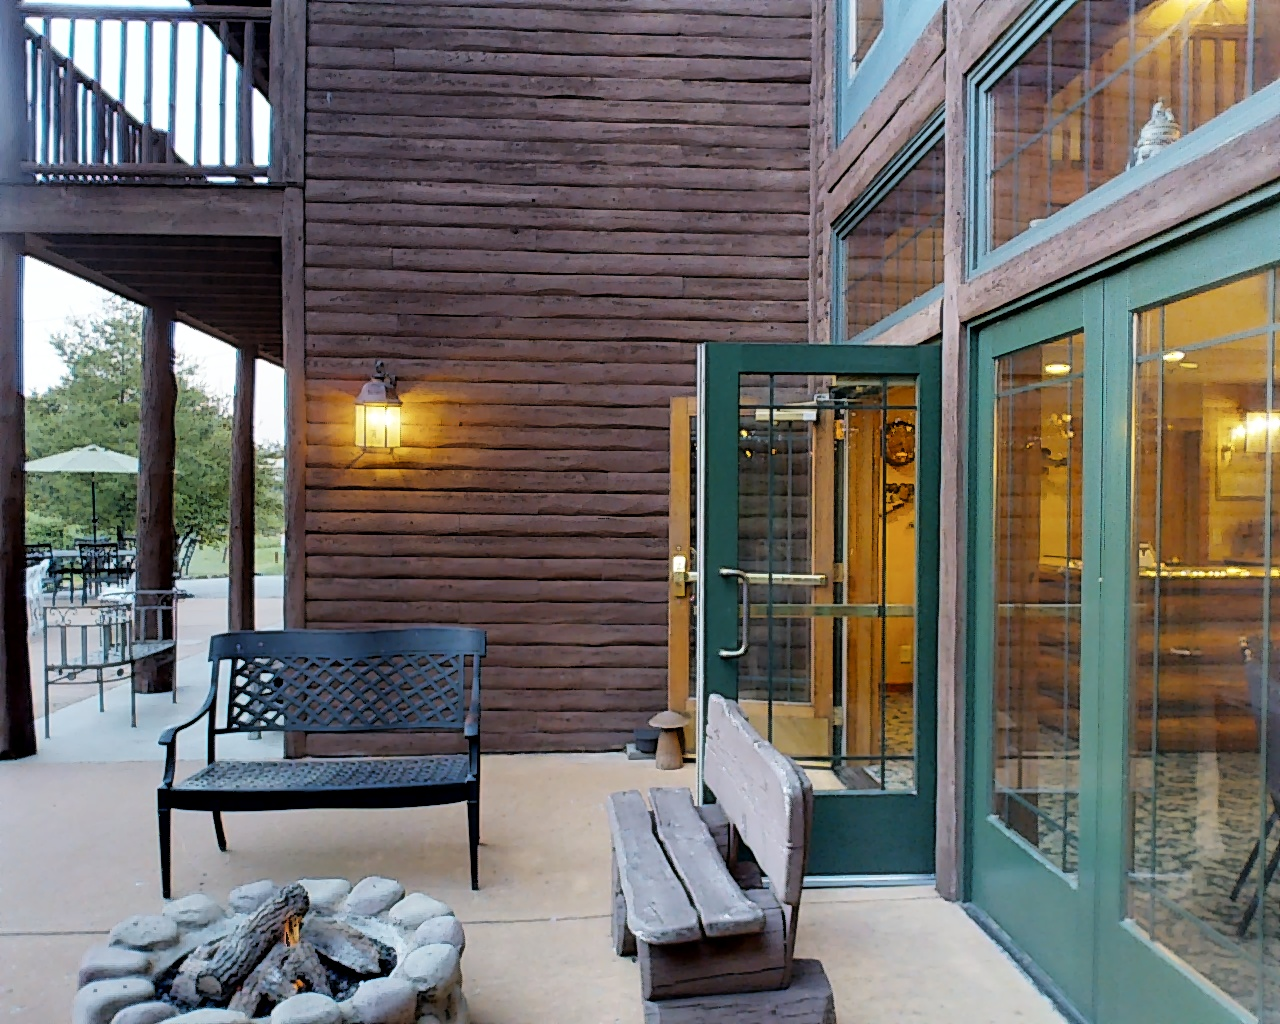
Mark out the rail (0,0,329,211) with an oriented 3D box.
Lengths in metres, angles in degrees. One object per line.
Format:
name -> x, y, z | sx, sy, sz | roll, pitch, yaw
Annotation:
rail -> -2.779, -2.561, 6.220 | 1.870, 1.540, 0.280 | 0, 1, -3

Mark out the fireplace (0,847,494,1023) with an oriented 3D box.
fireplace -> -0.980, 1.290, 2.920 | 1.080, 0.400, 1.080 | 0, 1, -3
